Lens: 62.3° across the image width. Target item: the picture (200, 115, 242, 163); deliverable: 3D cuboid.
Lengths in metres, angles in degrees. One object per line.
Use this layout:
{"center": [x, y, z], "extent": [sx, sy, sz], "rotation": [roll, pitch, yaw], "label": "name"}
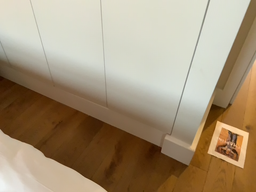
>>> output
{"center": [0.620, 0.270, 1.400], "extent": [0.220, 0.001, 0.310], "rotation": [20, 46, 18], "label": "picture"}
